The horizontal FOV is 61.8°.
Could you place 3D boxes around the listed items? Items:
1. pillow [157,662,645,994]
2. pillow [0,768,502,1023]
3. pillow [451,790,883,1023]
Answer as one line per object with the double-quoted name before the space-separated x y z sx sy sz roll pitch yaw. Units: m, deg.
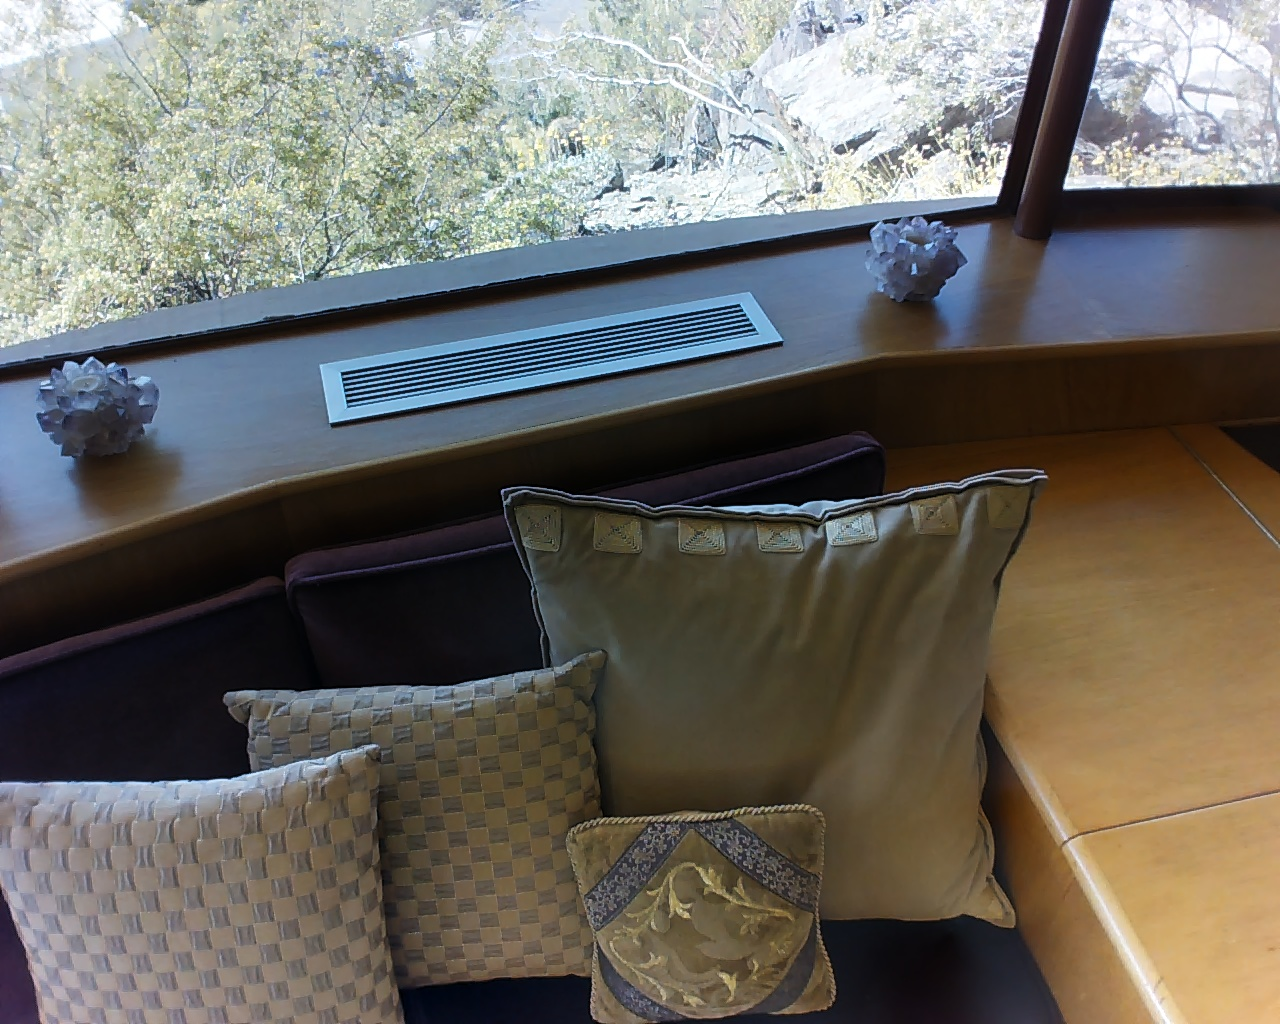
"pillow" -0.230 0.370 1.230 0.470 0.360 0.210 0 42 0
"pillow" -0.440 0.450 1.140 0.440 0.430 0.190 -14 63 10
"pillow" 0.030 0.470 1.190 0.420 0.240 0.190 2 42 3
